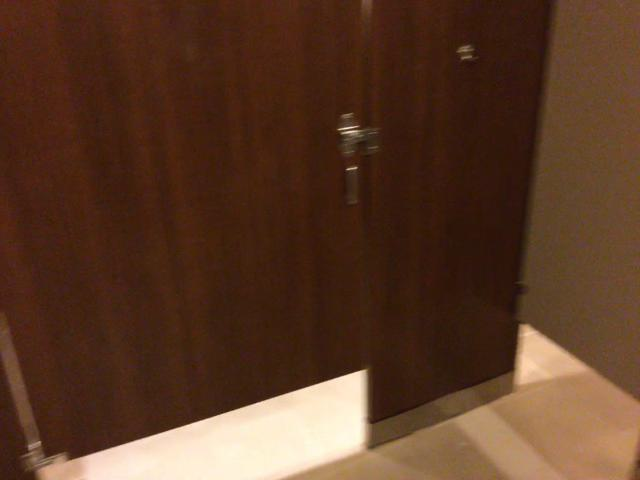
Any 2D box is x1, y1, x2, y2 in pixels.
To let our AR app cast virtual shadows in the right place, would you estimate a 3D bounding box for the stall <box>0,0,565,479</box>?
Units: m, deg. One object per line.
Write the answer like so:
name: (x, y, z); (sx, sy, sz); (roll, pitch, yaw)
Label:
stall: (-0.250, 0.100, 1.500); (1.980, 1.380, 0.160); (-12, 24, -20)
